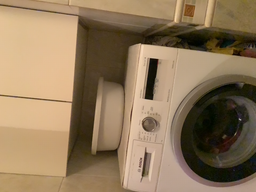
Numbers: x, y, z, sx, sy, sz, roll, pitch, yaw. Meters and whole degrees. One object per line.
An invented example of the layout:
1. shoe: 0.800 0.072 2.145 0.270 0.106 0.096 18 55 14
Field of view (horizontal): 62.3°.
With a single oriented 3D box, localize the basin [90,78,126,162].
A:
1. basin: -0.120 0.110 1.250 0.410 0.140 0.380 -119 35 -78
